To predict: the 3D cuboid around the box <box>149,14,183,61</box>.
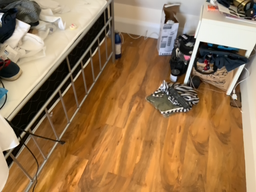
[{"bbox_3d":[0.340,-0.530,1.940,0.230,0.340,0.180,14,50,10],"label":"box"}]
